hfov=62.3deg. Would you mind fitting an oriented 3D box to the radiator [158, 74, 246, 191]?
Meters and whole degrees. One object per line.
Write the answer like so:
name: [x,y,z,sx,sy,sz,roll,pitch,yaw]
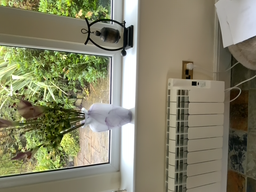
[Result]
radiator: [0.530,0.400,1.490,0.140,0.650,1.060,4,92,63]
